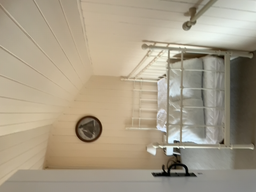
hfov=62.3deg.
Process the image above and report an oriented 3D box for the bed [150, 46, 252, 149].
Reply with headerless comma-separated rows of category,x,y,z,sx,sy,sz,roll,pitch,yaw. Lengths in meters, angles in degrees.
bed,0.850,0.060,3.140,2.090,0.490,1.000,164,110,-82
